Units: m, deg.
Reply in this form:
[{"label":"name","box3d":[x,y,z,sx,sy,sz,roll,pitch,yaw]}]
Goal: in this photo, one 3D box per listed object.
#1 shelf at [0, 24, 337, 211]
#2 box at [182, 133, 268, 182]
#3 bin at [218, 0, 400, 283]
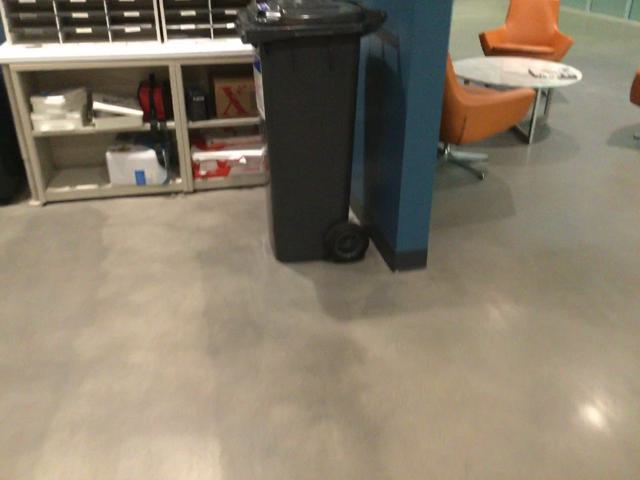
[{"label":"shelf","box3d":[-0.790,-0.670,3.020,1.650,0.790,0.490,-5,28,-14]},{"label":"box","box3d":[-0.500,-0.440,3.070,0.430,0.200,0.150,-5,28,-14]},{"label":"bin","box3d":[-0.040,-0.440,2.380,0.570,1.030,0.510,-10,30,-11]}]
